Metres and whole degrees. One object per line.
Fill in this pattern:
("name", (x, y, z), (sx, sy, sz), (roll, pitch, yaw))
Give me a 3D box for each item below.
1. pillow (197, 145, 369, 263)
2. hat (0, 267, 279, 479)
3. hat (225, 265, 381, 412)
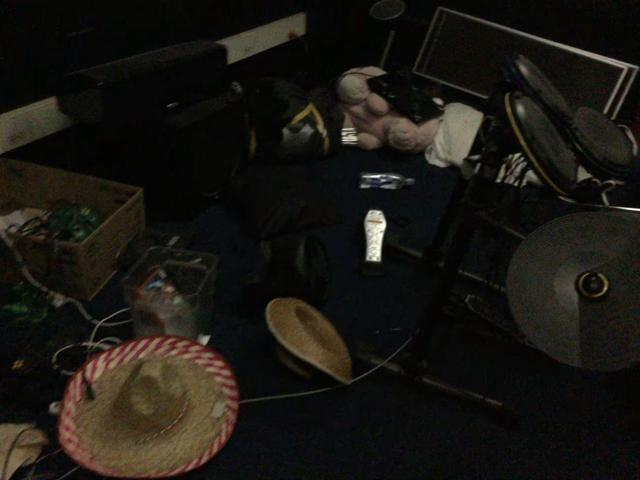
("pillow", (-0.140, -0.170, 2.350), (0.500, 0.150, 0.500), (21, 36, 22))
("hat", (-0.470, 0.360, 1.500), (0.530, 0.200, 0.500), (21, 36, 22))
("hat", (-0.050, 0.270, 1.670), (0.350, 0.180, 0.270), (21, 36, 22))
